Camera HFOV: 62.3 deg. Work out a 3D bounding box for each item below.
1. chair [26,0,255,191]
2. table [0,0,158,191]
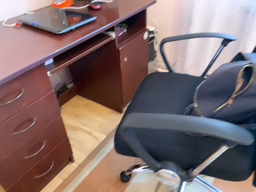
[{"bbox_3d":[0.280,0.050,0.790,0.700,1.170,0.680,7,39,11],"label":"chair"},{"bbox_3d":[-0.420,-0.110,1.370,0.710,0.740,1.310,19,43,25],"label":"table"}]
